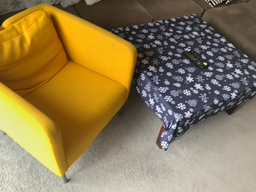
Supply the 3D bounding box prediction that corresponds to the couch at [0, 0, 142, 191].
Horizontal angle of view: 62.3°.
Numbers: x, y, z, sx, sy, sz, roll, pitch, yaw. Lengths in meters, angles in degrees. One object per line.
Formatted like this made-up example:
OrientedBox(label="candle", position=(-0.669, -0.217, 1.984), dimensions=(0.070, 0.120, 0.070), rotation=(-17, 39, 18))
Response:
OrientedBox(label="couch", position=(-0.480, -0.030, 1.360), dimensions=(0.750, 0.720, 0.720), rotation=(31, 52, 15))
